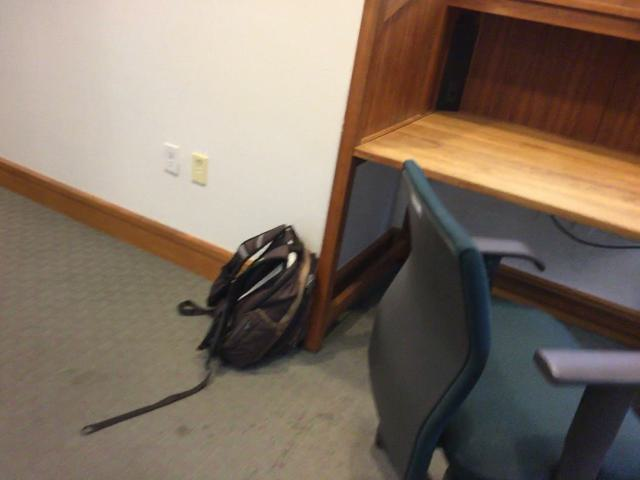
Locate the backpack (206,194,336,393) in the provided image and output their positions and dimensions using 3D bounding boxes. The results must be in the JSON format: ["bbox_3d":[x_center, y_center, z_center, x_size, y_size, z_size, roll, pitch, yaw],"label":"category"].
[{"bbox_3d":[-0.170,0.180,2.000,0.360,0.430,0.470,-8,44,-3],"label":"backpack"}]
